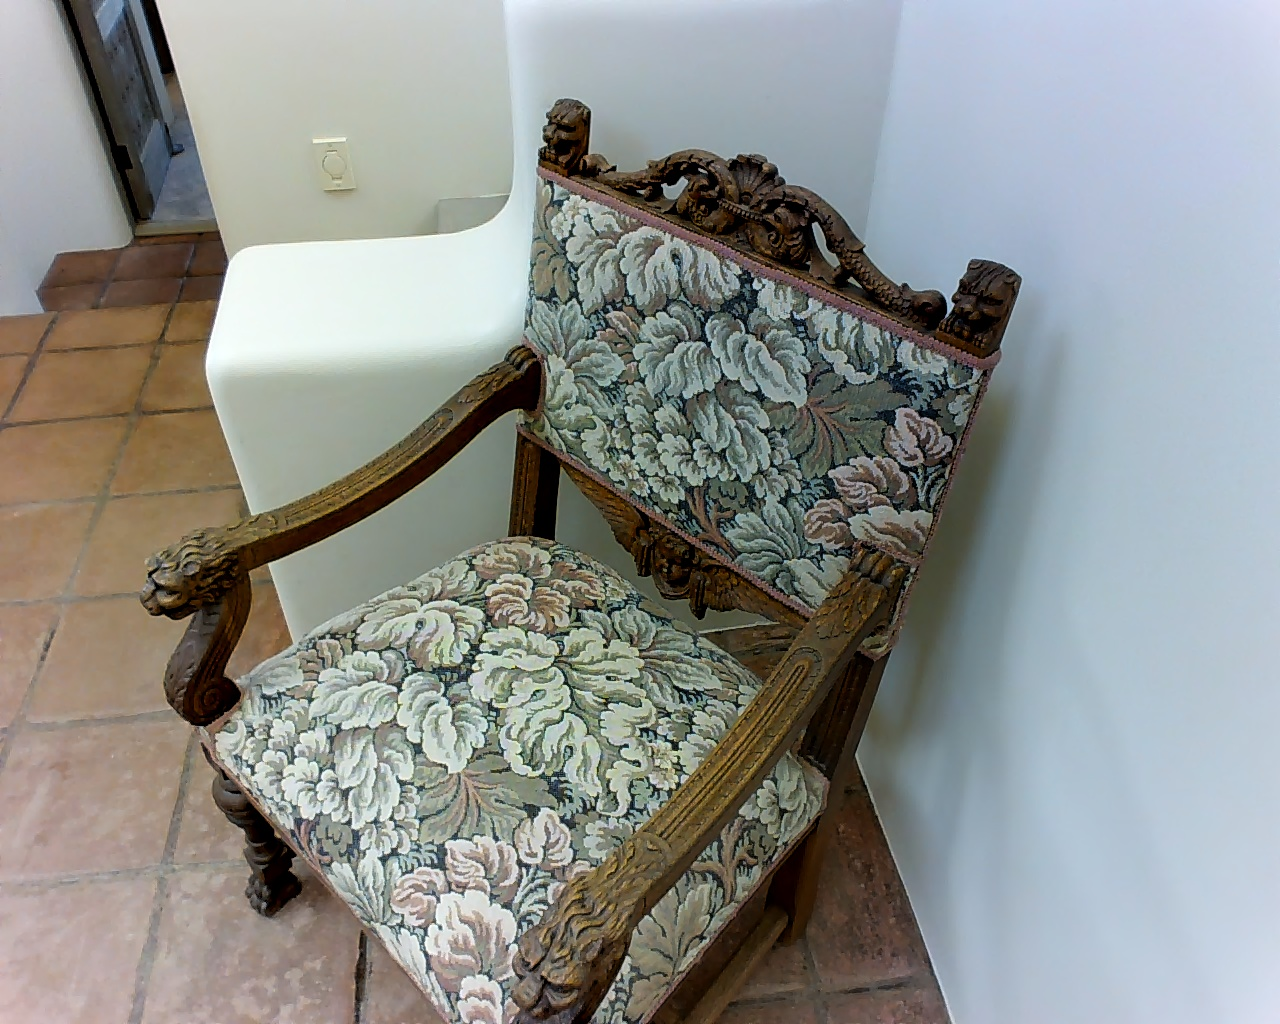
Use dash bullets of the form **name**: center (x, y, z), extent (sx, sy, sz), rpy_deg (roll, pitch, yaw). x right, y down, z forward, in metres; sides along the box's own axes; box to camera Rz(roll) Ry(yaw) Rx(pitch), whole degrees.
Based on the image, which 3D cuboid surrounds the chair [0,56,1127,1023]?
- **chair**: center (-0.090, 0.160, 1.260), extent (0.730, 1.000, 0.770), rpy_deg (31, 50, 31)
